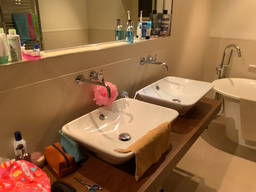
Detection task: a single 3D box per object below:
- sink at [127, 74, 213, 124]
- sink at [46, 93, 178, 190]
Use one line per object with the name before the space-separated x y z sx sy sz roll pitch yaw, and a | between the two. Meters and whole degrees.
sink | 0.340 -0.010 1.670 0.460 0.140 0.540 15 26 34
sink | -0.060 0.180 1.170 0.450 0.150 0.570 15 26 34
